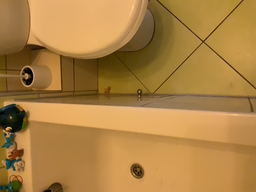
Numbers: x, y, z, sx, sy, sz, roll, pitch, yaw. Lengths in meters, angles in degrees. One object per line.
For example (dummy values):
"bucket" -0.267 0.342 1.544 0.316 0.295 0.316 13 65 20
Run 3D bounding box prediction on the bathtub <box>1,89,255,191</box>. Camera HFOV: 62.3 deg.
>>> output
"bathtub" 0.470 0.370 0.580 1.770 0.550 0.720 3 95 28
